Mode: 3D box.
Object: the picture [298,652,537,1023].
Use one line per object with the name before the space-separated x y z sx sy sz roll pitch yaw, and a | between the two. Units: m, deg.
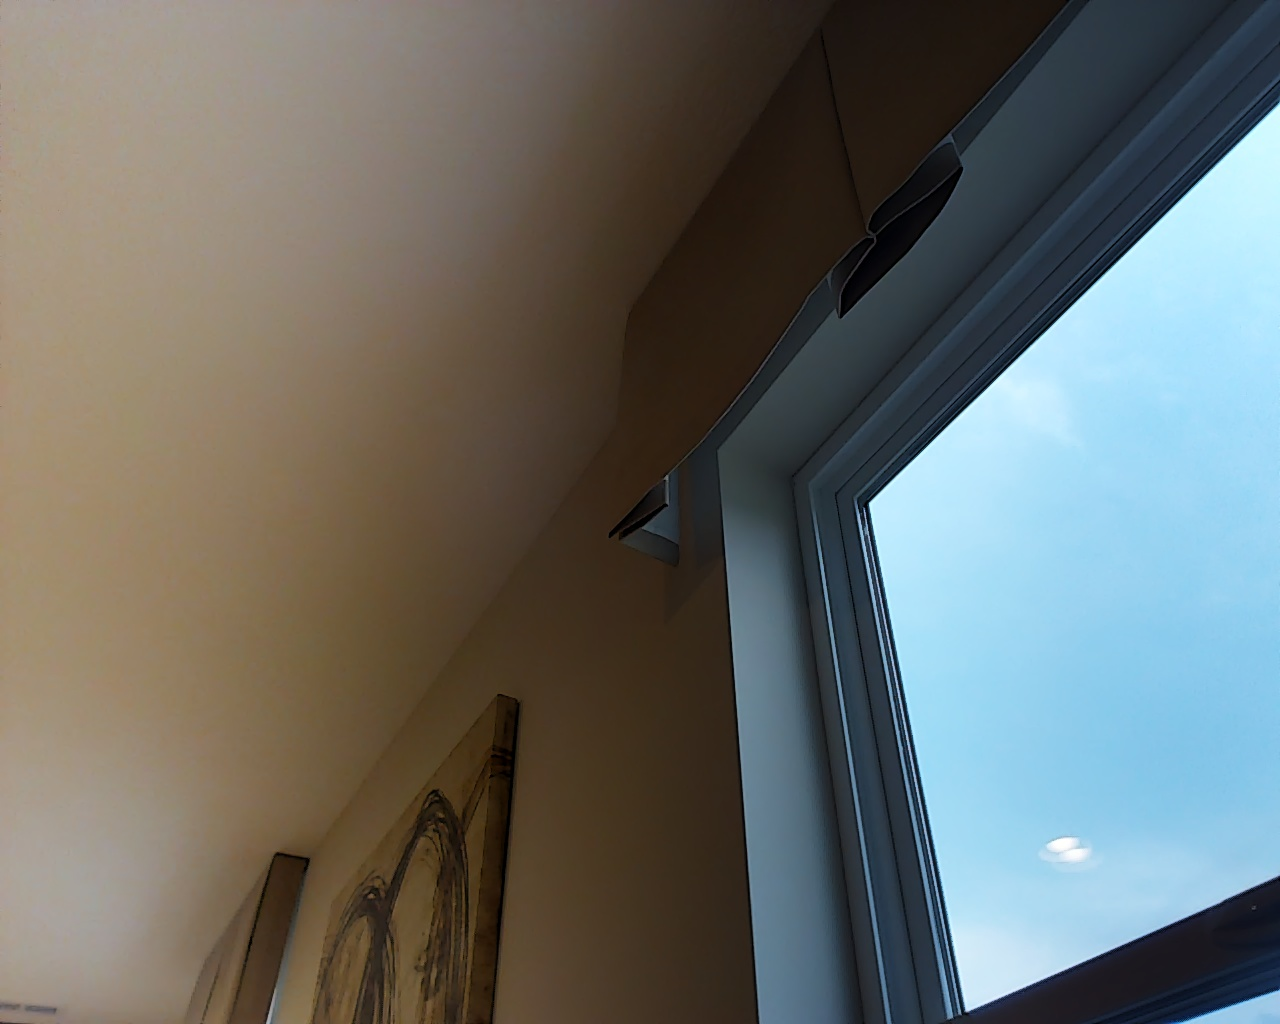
picture | -0.460 0.970 1.840 0.060 1.100 1.050 20 -46 -21
